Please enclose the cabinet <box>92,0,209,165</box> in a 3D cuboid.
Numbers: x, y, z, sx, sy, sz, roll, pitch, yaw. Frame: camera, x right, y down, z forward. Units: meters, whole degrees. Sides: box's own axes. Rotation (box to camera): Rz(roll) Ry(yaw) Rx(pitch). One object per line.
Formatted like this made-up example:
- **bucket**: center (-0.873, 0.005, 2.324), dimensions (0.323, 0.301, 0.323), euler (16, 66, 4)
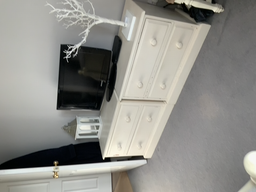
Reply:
- **cabinet**: center (0.090, -0.040, 2.130), dimensions (0.460, 0.570, 1.630), euler (-116, 36, -50)
